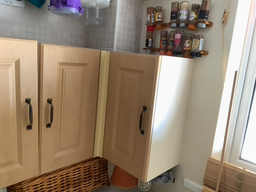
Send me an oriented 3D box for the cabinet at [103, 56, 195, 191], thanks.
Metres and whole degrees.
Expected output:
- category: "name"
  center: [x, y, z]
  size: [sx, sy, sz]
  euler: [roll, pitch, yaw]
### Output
- category: "cabinet"
  center: [0.100, 0.110, 1.110]
  size: [0.300, 0.590, 0.300]
  euler: [16, -165, 41]
